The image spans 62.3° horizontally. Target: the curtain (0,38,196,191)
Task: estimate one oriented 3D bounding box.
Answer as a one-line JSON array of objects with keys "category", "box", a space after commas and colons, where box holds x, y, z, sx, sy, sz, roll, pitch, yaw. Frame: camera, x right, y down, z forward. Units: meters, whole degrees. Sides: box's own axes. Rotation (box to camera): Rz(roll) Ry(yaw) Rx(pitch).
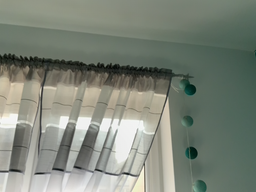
[{"category": "curtain", "box": [-0.490, 0.300, 0.910, 1.550, 1.140, 0.210, 5, -23, -9]}]
